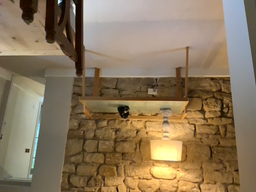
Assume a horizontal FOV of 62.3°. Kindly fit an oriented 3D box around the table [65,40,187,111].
[{"bbox_3d":[0.010,-0.250,3.090,1.510,0.750,0.800,0,163,6],"label":"table"}]

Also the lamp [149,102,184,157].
[{"bbox_3d":[0.500,0.460,2.840,0.410,0.680,0.310,1,163,4],"label":"lamp"}]
